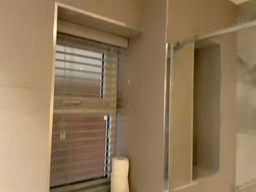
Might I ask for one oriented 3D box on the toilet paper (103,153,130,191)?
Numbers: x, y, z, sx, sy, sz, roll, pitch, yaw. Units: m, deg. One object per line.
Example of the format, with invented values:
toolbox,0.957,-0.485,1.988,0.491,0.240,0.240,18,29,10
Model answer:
toilet paper,-0.070,0.480,1.310,0.100,0.210,0.130,4,-3,-38
